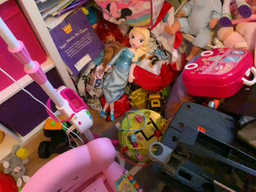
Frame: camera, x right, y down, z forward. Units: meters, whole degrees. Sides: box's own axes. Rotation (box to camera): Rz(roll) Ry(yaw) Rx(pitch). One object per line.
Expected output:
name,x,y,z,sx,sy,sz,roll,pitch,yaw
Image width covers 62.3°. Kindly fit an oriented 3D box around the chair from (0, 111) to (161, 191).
chair,-0.160,0.400,0.790,0.420,0.440,0.360,-36,65,-17
